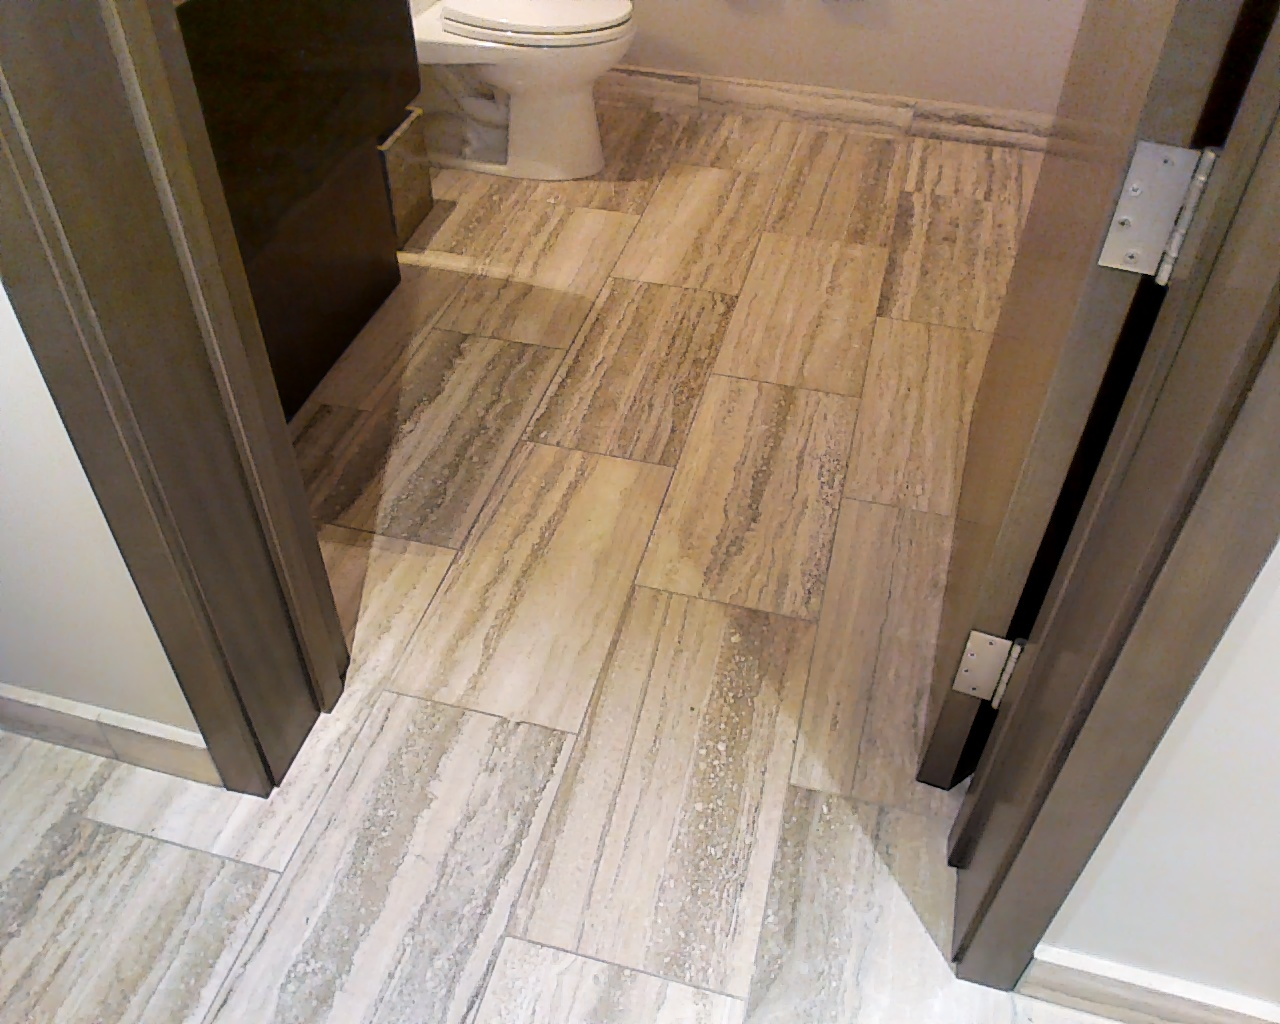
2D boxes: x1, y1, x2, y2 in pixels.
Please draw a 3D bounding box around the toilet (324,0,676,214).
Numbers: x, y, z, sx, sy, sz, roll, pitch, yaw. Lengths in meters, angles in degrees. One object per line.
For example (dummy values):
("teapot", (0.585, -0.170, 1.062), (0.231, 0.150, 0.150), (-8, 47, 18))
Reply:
("toilet", (-0.330, -1.190, 2.740), (0.750, 0.600, 0.450), (11, 44, 12))
